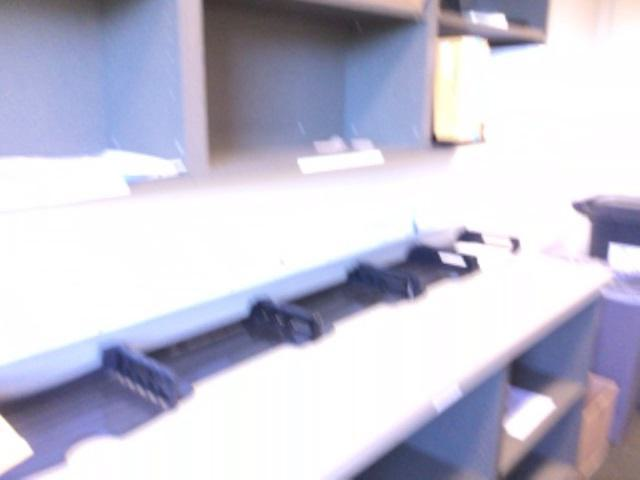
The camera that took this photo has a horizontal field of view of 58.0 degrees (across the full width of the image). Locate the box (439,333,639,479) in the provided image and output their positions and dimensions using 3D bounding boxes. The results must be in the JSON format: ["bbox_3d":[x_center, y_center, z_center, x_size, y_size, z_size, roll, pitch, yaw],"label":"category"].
[{"bbox_3d":[0.920,0.730,2.410,0.590,0.380,0.620,10,18,43],"label":"box"}]
